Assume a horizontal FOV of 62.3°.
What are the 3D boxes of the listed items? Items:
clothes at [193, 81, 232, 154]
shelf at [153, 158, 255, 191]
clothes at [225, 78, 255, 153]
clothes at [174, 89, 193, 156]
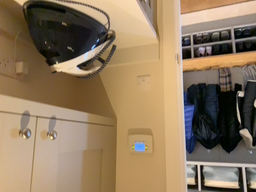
[{"bbox_3d":[1.040,0.270,2.660,0.390,0.850,0.260,-2,169,17],"label":"clothes"},{"bbox_3d":[1.080,0.930,2.470,1.530,0.310,0.340,-3,168,21],"label":"shelf"},{"bbox_3d":[1.410,0.240,2.490,0.420,0.800,0.450,-3,168,20],"label":"clothes"},{"bbox_3d":[0.730,0.350,2.800,0.200,0.820,0.330,-2,169,16],"label":"clothes"}]
